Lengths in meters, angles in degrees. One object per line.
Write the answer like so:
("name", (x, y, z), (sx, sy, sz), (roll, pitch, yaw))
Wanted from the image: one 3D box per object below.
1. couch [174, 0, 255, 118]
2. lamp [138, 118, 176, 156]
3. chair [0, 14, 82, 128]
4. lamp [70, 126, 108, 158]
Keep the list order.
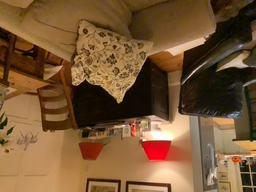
("couch", (1.050, -0.340, 2.000), (0.820, 0.840, 1.020), (5, 161, -12))
("lamp", (0.380, 0.560, 2.800), (0.370, 0.440, 0.360), (-11, 158, 32))
("chair", (-0.950, -0.210, 2.300), (0.480, 0.970, 0.660), (-11, 158, 33))
("lamp", (-0.630, 0.770, 3.480), (0.460, 0.460, 0.370), (-11, 158, 33))
